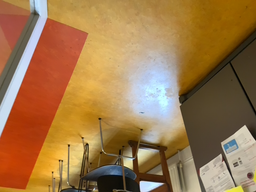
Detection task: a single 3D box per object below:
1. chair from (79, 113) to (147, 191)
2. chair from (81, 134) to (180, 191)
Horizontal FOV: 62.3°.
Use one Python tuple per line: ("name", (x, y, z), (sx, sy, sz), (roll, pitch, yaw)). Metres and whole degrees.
("chair", (-0.150, 0.650, 1.960), (0.400, 0.760, 0.510), (18, 138, -24))
("chair", (-0.120, 1.320, 2.750), (0.550, 0.850, 1.800), (16, 139, -21))
